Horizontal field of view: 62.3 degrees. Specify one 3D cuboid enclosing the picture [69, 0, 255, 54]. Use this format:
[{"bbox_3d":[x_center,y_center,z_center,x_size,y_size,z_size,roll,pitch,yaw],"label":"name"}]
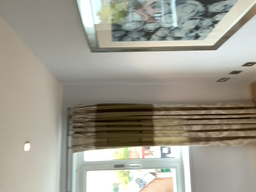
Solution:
[{"bbox_3d":[0.190,-0.410,1.150,0.970,0.930,0.020,113,156,-80],"label":"picture"}]
